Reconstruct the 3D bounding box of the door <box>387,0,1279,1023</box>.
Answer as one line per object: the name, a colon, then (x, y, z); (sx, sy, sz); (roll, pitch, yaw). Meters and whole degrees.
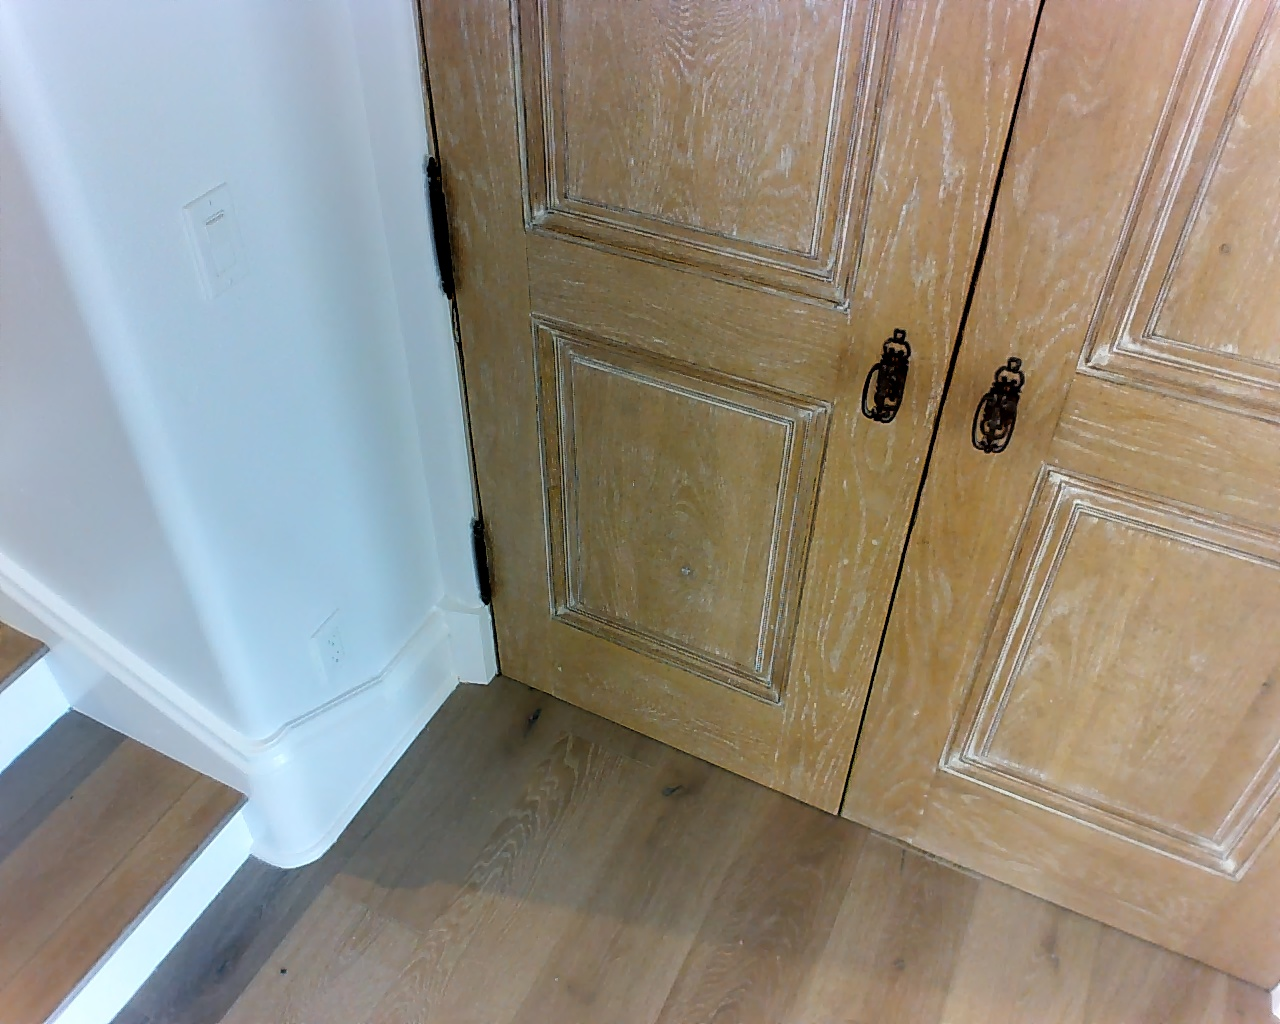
door: (0.380, -0.370, 1.020); (1.450, 2.510, 0.070); (19, 46, 18)
